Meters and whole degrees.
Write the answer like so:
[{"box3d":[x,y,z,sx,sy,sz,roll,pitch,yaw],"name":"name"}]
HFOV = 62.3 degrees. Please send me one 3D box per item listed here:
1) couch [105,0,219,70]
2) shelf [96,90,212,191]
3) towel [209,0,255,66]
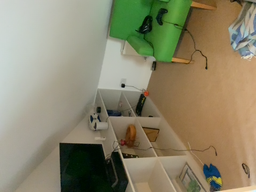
[{"box3d":[0.280,-0.840,2.380,0.870,0.800,0.720,-120,38,-53],"name":"couch"},{"box3d":[0.190,0.620,2.530,2.100,0.740,0.320,-119,38,-53],"name":"shelf"},{"box3d":[0.970,-0.420,1.490,0.860,0.140,0.400,-124,42,-56],"name":"towel"}]
